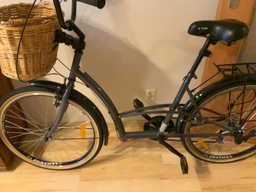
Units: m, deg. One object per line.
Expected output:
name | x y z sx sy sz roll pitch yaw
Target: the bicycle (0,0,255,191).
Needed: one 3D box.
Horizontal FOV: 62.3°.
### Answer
bicycle | 0.140 0.050 1.150 1.740 1.120 0.420 -1 37 -2
